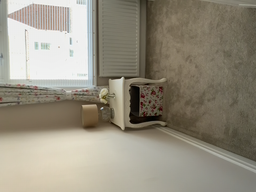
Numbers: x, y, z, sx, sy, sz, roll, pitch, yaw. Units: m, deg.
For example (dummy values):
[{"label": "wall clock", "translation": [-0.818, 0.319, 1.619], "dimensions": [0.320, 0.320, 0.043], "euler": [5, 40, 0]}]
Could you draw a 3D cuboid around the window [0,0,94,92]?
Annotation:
[{"label": "window", "translation": [-1.290, -0.940, 2.690], "dimensions": [0.270, 1.640, 1.750], "euler": [-167, 76, -69]}]
